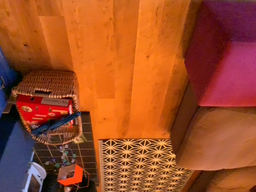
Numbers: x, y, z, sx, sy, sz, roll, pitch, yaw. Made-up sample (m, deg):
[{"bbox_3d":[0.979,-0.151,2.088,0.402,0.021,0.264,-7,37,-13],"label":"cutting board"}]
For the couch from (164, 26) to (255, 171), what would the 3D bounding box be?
[{"bbox_3d":[0.630,0.100,1.560,0.480,0.430,1.100,-1,137,-4],"label":"couch"}]

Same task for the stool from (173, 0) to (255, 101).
[{"bbox_3d":[0.560,-0.300,1.110,0.470,0.440,0.470,-1,137,-4],"label":"stool"}]
